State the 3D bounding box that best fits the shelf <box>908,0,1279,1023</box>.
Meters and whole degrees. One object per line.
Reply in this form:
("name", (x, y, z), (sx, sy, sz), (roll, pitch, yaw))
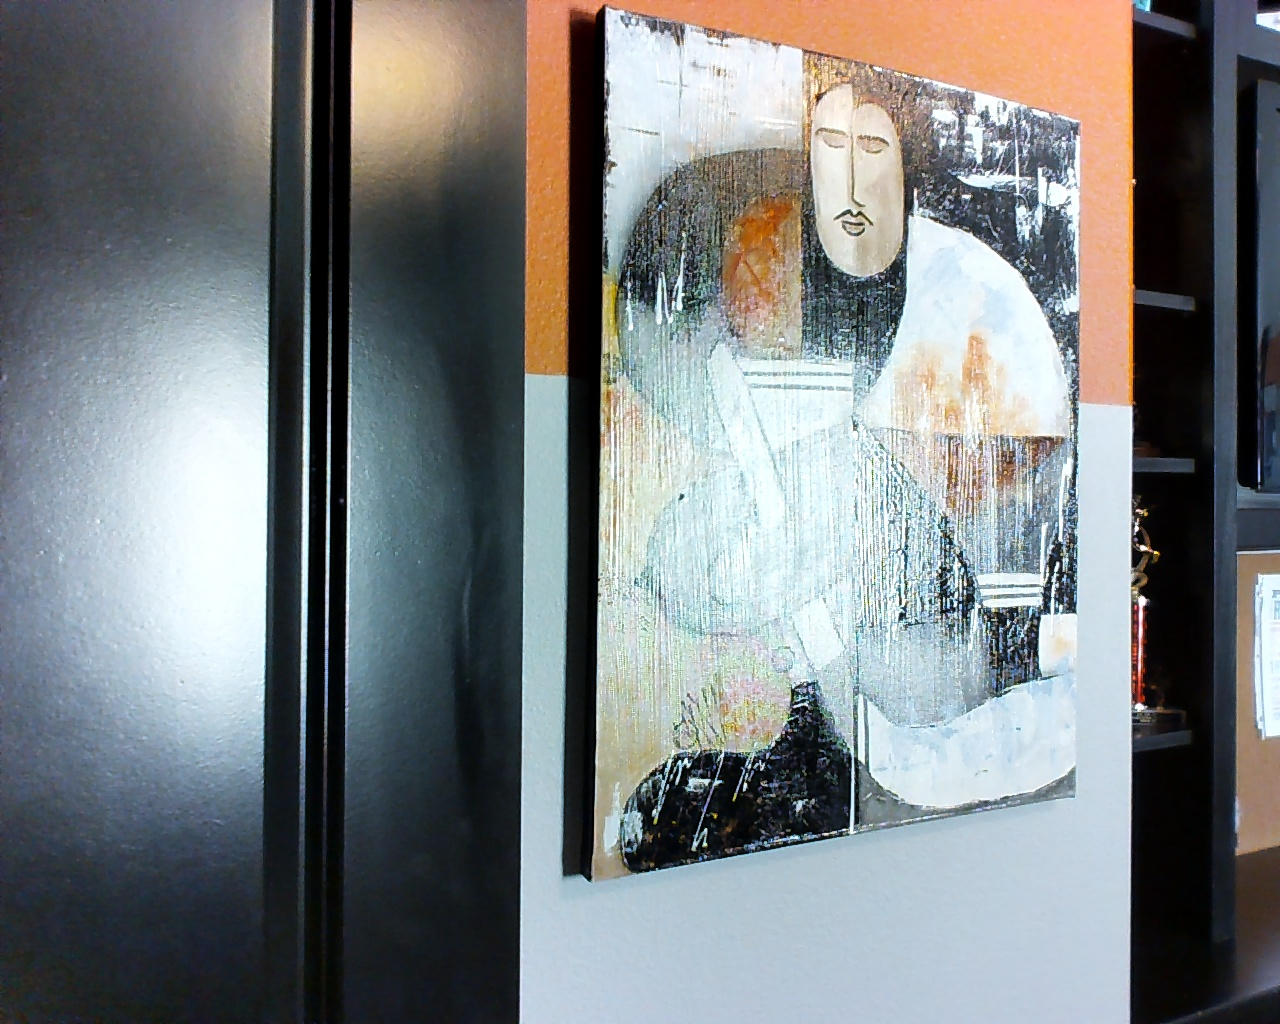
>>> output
("shelf", (1.270, -0.220, 1.830), (1.860, 1.700, 0.250), (1, 0, -28))
